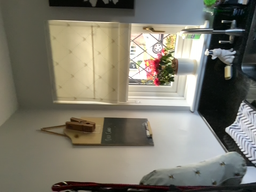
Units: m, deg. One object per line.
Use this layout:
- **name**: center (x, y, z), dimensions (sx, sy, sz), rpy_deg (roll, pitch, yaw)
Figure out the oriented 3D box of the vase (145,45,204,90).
- **vase**: center (0.320, -0.220, 1.580), dimensions (0.300, 0.340, 0.250), rpy_deg (-94, 5, -65)
